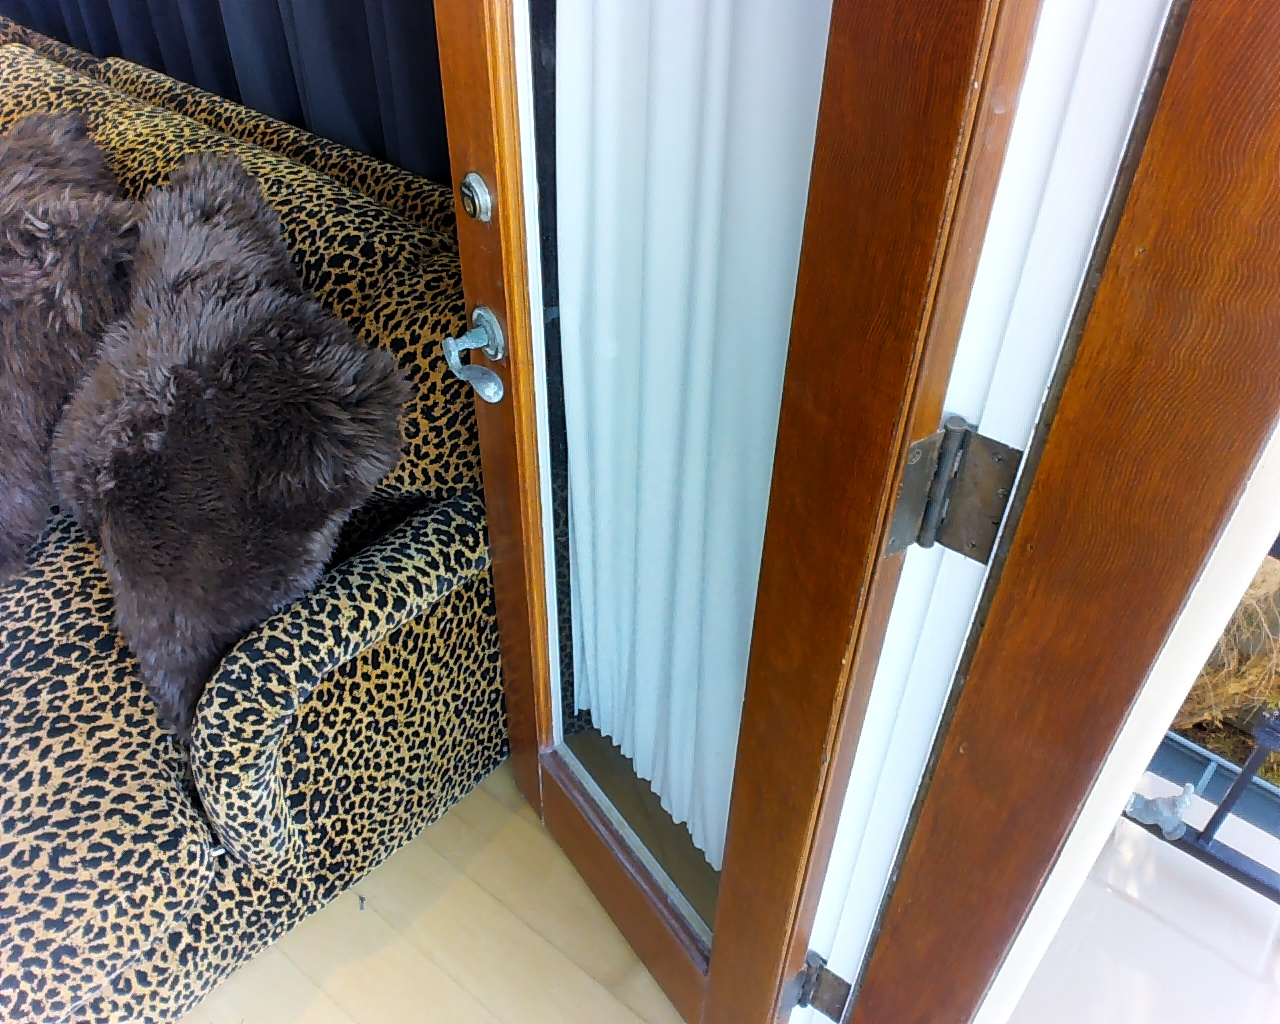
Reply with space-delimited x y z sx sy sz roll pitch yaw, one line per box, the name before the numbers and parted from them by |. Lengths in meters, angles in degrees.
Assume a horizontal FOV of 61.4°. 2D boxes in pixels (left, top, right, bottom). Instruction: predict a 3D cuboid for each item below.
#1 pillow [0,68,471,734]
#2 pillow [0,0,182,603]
pillow | -0.550 -0.100 1.380 0.300 0.620 0.550 -27 78 -30
pillow | -0.880 -0.260 1.470 0.240 0.560 0.630 -14 78 -35
